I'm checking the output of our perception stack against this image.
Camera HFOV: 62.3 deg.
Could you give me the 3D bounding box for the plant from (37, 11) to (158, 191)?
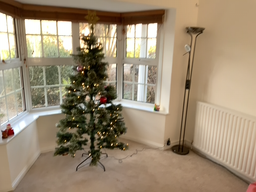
[{"bbox_3d":[-0.430,0.010,2.600,1.060,1.770,1.060,-5,16,-26],"label":"plant"}]
